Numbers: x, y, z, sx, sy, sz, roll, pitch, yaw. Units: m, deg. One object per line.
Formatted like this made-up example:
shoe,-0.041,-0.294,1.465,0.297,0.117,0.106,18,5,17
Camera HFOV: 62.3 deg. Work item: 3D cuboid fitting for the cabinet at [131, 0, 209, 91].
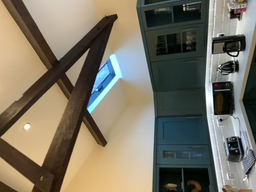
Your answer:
cabinet,0.630,-0.720,2.980,1.440,0.850,0.360,71,-160,-45

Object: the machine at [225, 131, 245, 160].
machine,1.510,0.710,3.010,0.330,0.170,0.280,71,-160,-47

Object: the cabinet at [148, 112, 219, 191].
cabinet,0.760,0.900,3.070,0.340,0.850,1.360,72,-160,-45

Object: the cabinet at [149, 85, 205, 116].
cabinet,0.830,0.070,3.630,0.460,0.840,0.420,-22,-73,-76

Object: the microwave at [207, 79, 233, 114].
microwave,1.490,0.000,3.470,0.420,0.290,0.510,-12,-82,-76
